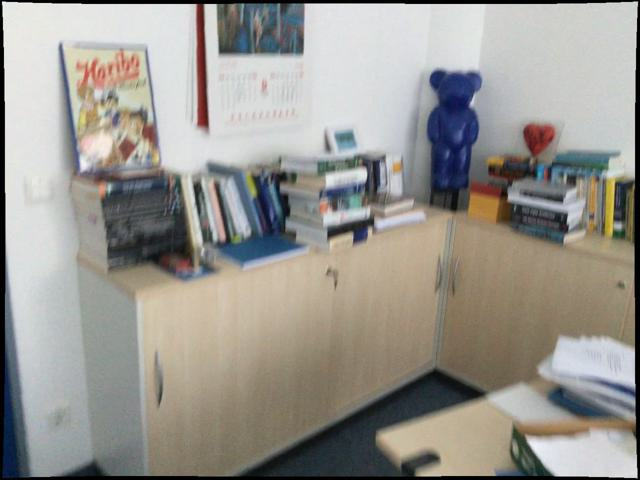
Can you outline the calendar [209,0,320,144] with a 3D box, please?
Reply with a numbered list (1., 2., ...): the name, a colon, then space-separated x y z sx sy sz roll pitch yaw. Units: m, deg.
1. calendar: -0.200 -0.751 2.210 0.490 0.711 0.050 -16 26 -41
